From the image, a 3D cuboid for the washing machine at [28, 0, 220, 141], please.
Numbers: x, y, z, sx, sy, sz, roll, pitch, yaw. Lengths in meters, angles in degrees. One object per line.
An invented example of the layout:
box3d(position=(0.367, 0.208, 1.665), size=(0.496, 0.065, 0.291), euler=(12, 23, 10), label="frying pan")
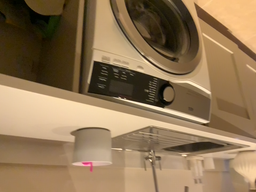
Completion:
box3d(position=(-0.060, -0.270, 1.110), size=(0.580, 0.850, 0.650), euler=(16, 151, -38), label="washing machine")
